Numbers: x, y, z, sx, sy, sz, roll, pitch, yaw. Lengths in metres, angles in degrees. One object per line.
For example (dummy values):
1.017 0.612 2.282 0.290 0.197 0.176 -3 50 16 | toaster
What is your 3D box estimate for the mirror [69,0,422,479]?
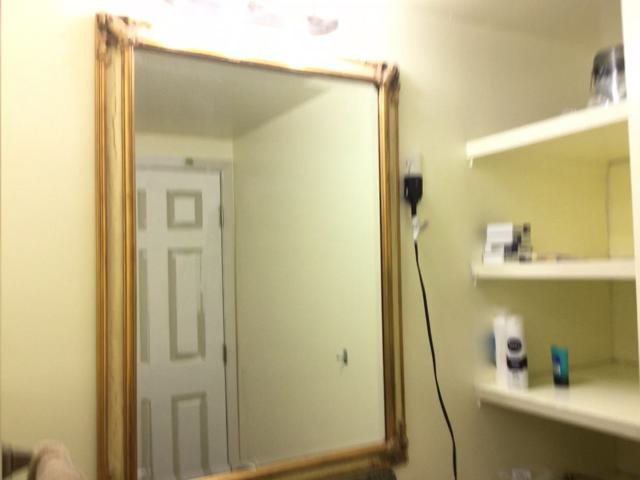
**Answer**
-0.120 0.050 1.310 0.790 1.080 0.110 2 -4 -28 | mirror
